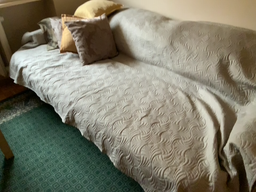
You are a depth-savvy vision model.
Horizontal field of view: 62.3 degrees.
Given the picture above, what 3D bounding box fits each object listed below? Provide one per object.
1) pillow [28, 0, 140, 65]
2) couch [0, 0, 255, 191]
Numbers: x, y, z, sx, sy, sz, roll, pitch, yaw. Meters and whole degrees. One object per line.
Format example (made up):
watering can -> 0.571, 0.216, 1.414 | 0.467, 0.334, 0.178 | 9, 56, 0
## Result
pillow -> -0.400, -0.650, 1.930 | 0.670, 0.300, 0.770 | -26, 42, -29
couch -> -0.020, -0.200, 1.690 | 1.210, 0.730, 2.160 | -30, 44, -33
